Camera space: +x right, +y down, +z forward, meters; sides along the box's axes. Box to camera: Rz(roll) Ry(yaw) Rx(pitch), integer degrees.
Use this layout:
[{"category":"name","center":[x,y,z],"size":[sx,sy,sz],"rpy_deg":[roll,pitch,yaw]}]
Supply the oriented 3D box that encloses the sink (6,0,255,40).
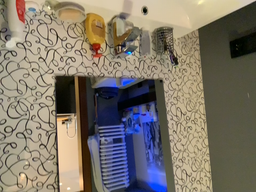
[{"category":"sink","center":[0.050,-0.400,0.750],"size":[0.820,0.160,0.390],"rpy_deg":[1,173,-32]}]
